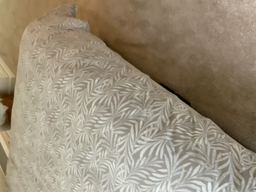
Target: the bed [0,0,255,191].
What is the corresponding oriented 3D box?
[{"bbox_3d":[-0.210,0.780,1.620,2.040,0.740,2.150,40,123,30],"label":"bed"}]
